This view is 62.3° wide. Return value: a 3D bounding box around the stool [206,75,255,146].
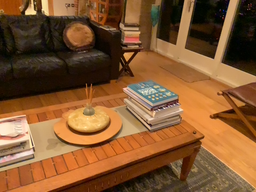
[{"bbox_3d":[1.260,0.110,2.140,0.540,0.380,0.610,-11,33,-29],"label":"stool"}]
